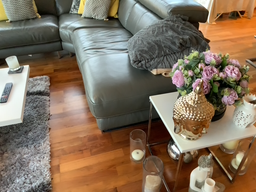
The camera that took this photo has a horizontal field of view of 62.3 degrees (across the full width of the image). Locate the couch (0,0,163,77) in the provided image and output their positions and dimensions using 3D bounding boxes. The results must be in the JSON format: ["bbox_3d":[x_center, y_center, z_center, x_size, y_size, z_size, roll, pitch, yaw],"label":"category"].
[{"bbox_3d":[-1.210,-0.860,2.490,3.020,0.750,1.040,-11,38,-14],"label":"couch"}]

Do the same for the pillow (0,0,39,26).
[{"bbox_3d":[-1.150,-0.930,2.250,0.300,0.290,0.140,-13,52,-16],"label":"pillow"}]

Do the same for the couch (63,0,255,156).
[{"bbox_3d":[0.080,-0.370,1.830,1.040,0.740,1.330,-11,38,-14],"label":"couch"}]

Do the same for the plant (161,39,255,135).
[{"bbox_3d":[0.390,-0.060,1.050,0.310,0.300,0.320,-12,38,-15],"label":"plant"}]
